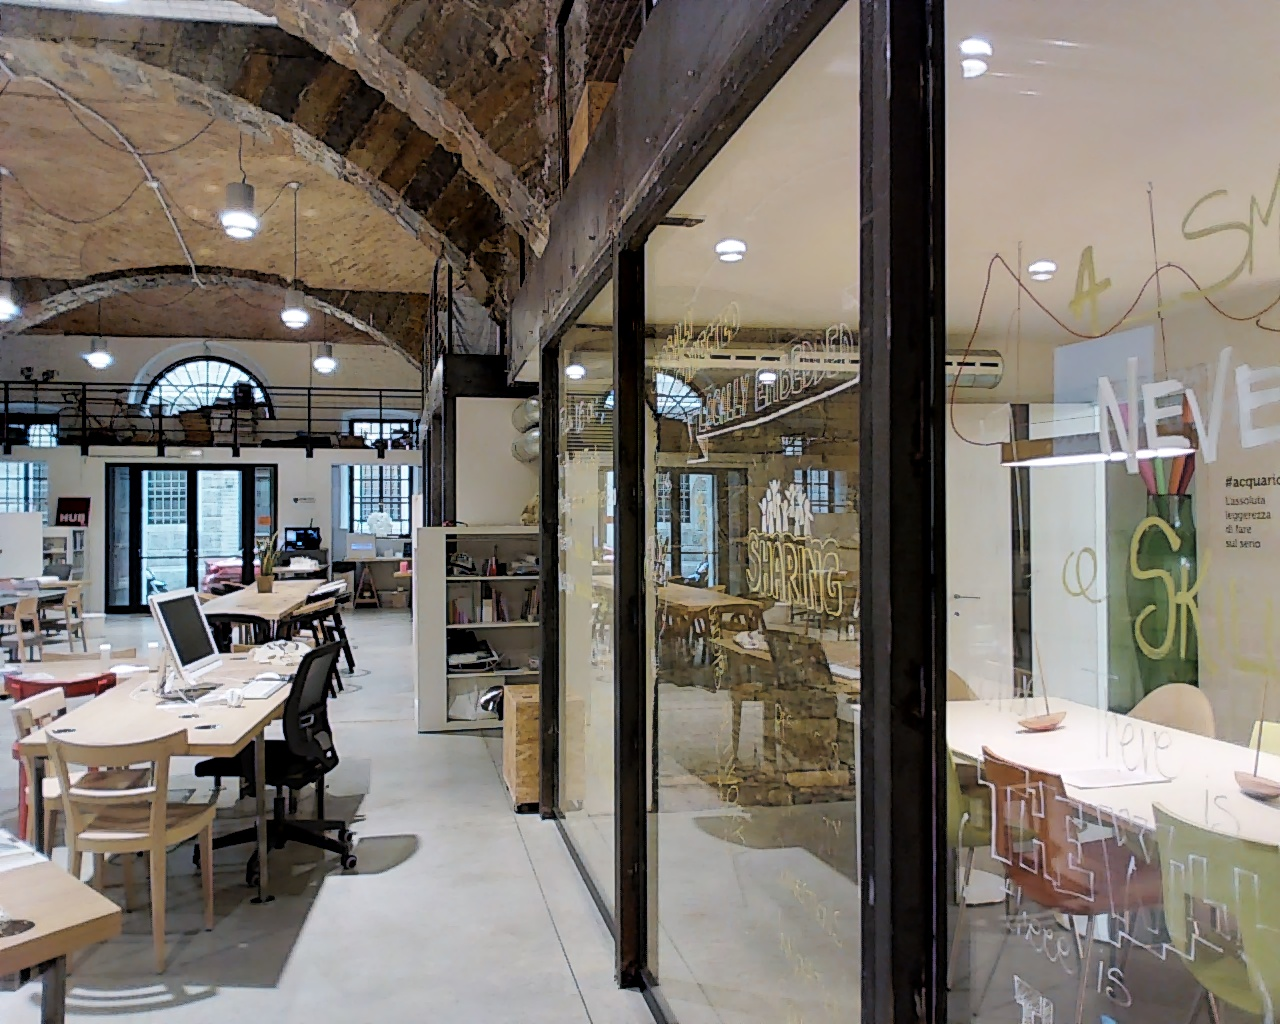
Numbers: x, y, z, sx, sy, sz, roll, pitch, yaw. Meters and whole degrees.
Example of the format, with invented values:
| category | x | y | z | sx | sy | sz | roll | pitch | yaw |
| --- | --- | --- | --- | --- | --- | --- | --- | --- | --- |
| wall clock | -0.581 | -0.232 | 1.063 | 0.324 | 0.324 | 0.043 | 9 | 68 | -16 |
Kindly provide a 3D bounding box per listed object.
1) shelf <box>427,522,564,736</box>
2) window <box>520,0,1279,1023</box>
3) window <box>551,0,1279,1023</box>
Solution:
| category | x | y | z | sx | sy | sz | roll | pitch | yaw |
| --- | --- | --- | --- | --- | --- | --- | --- | --- | --- |
| shelf | -1.090 | 0.830 | 8.020 | 0.960 | 1.510 | 0.650 | 0 | -1 | -12 |
| window | 0.200 | -1.040 | 2.370 | 0.380 | 5.071 | 6.180 | 0 | -1 | -11 |
| window | 0.220 | 0.320 | 2.650 | 0.190 | 2.341 | 5.890 | 0 | -1 | -11 |
